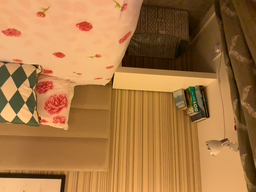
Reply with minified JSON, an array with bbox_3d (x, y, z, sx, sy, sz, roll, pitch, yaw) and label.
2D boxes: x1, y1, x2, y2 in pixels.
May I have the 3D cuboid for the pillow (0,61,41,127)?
[{"bbox_3d":[-0.790,-0.010,1.340,0.360,0.360,0.210,3,163,-5],"label":"pillow"}]

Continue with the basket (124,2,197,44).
[{"bbox_3d":[0.280,-0.650,1.920,0.590,0.180,0.260,4,163,-8],"label":"basket"}]
